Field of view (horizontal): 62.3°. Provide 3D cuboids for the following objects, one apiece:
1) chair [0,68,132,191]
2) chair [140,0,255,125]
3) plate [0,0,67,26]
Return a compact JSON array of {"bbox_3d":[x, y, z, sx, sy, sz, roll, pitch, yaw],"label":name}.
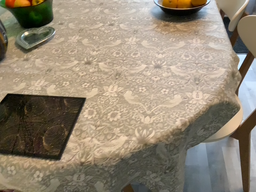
[{"bbox_3d":[-0.260,0.380,0.780,0.440,0.790,0.530,2,44,9],"label":"chair"},{"bbox_3d":[0.400,-0.260,1.380,0.560,0.790,0.450,3,45,10],"label":"chair"},{"bbox_3d":[-0.480,-0.470,1.070,0.250,0.150,0.190,5,45,12],"label":"plate"}]
